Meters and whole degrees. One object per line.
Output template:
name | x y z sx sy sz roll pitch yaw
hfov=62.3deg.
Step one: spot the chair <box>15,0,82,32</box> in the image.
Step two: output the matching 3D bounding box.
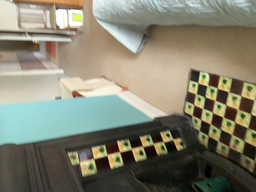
chair | -1.250 -1.260 3.360 0.460 0.920 0.390 31 121 56
